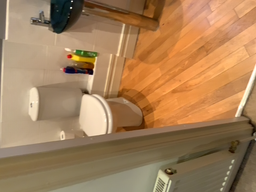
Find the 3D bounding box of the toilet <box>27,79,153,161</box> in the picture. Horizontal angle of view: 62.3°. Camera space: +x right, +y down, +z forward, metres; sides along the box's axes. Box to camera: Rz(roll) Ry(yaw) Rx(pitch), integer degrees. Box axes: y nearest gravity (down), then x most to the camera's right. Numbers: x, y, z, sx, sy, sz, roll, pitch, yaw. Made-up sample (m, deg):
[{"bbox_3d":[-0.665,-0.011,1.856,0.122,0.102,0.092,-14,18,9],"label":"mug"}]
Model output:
[{"bbox_3d":[-0.360,0.140,1.930,0.680,0.880,0.390,32,116,48],"label":"toilet"}]
